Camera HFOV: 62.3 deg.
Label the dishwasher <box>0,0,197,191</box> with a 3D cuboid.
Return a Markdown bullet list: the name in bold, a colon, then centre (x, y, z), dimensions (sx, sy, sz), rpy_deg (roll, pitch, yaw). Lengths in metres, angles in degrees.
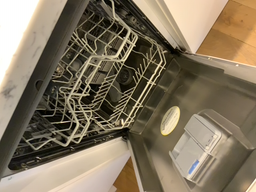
- **dishwasher**: centre (-0.190, -0.140, 0.720), dimensions (0.600, 0.900, 0.440), rpy_deg (34, 101, 19)
